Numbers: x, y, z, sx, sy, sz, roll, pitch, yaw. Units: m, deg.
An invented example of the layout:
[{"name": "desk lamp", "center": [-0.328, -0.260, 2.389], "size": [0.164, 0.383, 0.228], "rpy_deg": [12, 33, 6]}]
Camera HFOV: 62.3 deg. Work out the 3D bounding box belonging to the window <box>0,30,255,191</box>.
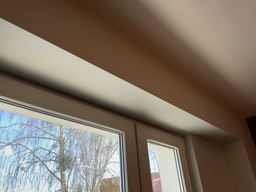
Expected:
[{"name": "window", "center": [0.150, 0.720, 0.930], "size": [2.370, 1.480, 0.220], "rpy_deg": [23, -39, -39]}]
